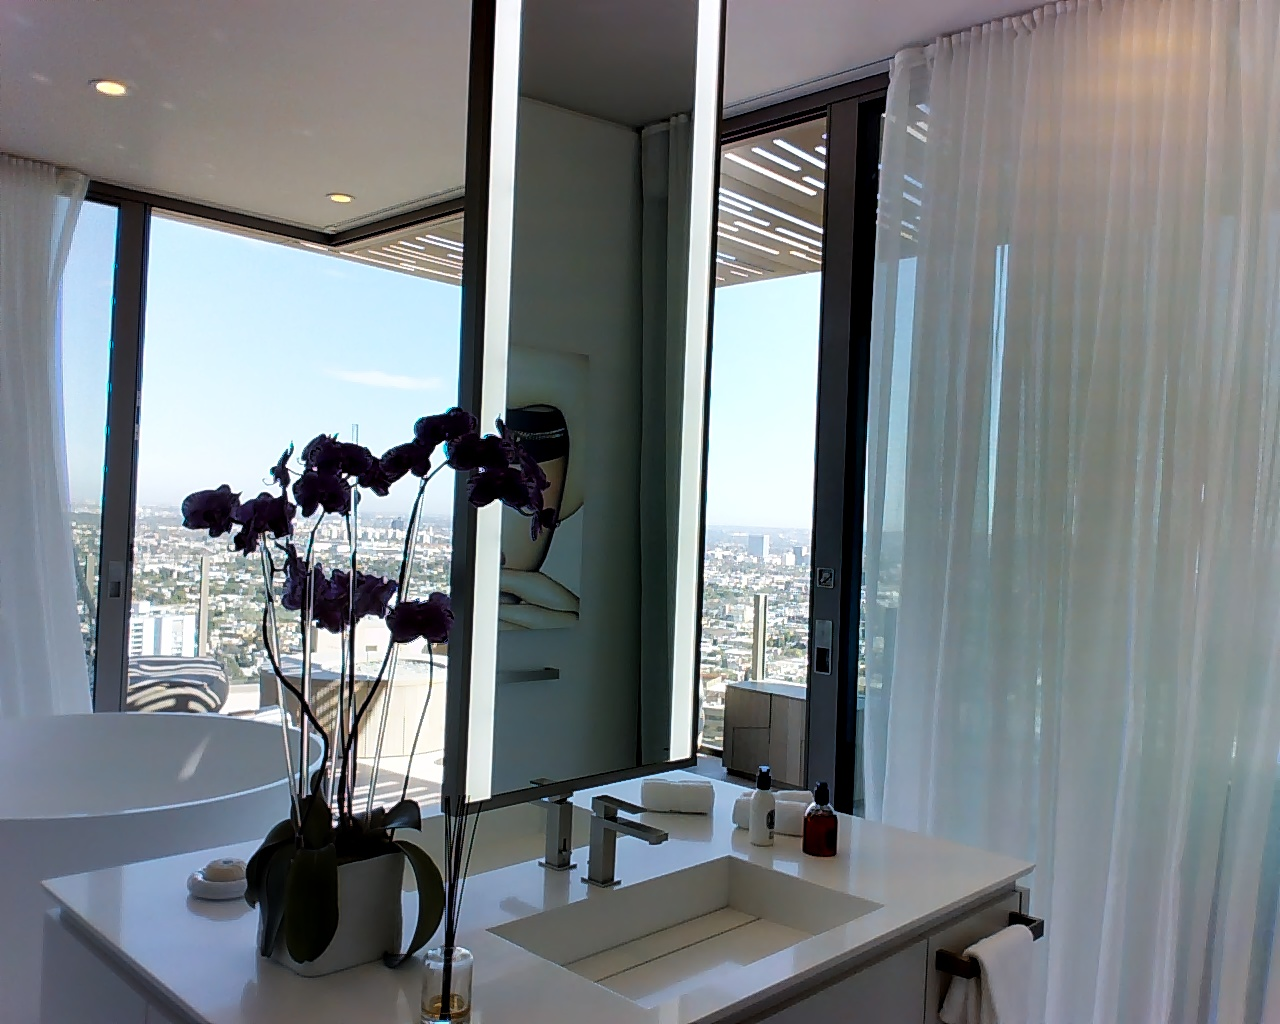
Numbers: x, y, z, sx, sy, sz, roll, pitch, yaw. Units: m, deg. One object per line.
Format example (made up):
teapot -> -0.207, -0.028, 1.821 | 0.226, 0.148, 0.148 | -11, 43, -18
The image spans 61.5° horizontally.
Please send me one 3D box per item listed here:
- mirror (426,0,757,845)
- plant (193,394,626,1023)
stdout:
mirror -> -0.060, -0.400, 2.020 | 0.210, 1.880, 0.590 | 2, 0, 41
plant -> -0.350, 0.260, 1.580 | 0.370, 0.800, 0.520 | 3, 0, -44
